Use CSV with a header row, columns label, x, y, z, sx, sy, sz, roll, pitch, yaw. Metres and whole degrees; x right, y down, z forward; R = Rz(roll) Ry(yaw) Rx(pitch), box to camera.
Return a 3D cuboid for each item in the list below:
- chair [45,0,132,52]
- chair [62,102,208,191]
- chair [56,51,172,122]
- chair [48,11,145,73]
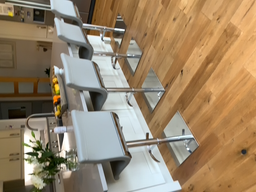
label,x,y,z,sx,sy,sz,roll,pitch,yaw
chair,-0.560,-0.980,2.940,0.440,1.040,0.490,66,145,38
chair,0.040,0.390,1.780,0.430,1.040,0.490,66,145,38
chair,-0.160,-0.090,2.180,0.440,1.010,0.490,66,145,38
chair,-0.410,-0.640,2.650,0.440,1.040,0.490,66,145,38
